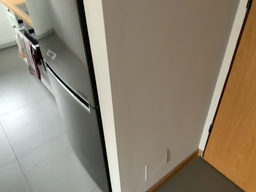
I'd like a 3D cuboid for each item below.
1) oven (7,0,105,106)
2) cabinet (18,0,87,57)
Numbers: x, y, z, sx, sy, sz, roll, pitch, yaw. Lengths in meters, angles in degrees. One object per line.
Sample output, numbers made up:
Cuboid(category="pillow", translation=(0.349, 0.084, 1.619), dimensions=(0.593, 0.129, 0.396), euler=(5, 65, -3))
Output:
Cuboid(category="oven", translation=(-0.680, -0.490, 2.160), dimensions=(0.590, 0.850, 0.590), euler=(-28, 46, -29))
Cuboid(category="cabinet", translation=(-1.080, -1.150, 3.000), dimensions=(0.600, 0.840, 0.680), euler=(-28, 46, -29))
